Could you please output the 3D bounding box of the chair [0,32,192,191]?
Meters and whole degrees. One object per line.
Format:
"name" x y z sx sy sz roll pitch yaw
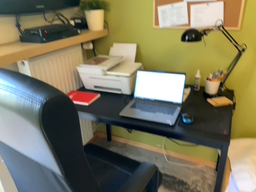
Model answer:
"chair" -0.190 0.360 1.040 0.680 1.190 0.680 14 29 31
